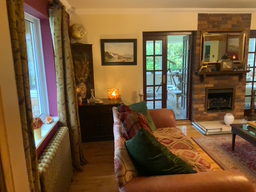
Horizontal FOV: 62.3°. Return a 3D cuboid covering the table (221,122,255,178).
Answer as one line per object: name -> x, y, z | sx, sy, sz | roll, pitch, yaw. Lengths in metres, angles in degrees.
table -> 2.070, 0.810, 2.930 | 0.830, 0.460, 1.370 | -3, 12, -7

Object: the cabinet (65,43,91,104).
cabinet -> -0.950, -0.450, 4.090 | 0.370, 1.100, 0.510 | -3, 12, -7
